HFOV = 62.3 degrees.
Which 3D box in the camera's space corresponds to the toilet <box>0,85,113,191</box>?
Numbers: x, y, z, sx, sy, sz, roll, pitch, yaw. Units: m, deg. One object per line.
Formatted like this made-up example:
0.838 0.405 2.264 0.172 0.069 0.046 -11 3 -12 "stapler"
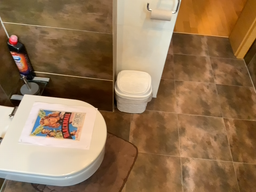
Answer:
-0.390 0.260 1.090 0.570 0.440 0.380 7 52 1 "toilet"
